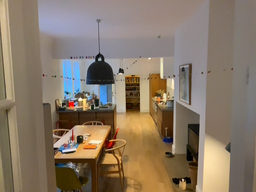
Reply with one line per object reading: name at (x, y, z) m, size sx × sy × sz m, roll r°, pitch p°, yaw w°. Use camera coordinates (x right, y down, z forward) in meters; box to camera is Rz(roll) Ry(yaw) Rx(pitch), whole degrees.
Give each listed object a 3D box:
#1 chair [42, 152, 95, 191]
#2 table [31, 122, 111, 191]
chair at (-0.800, 1.270, 2.960) m, size 0.470 × 0.760 × 0.530 m, roll 1°, pitch 7°, yaw 15°
table at (-0.920, 1.130, 4.180) m, size 0.890 × 0.740 × 2.120 m, roll -1°, pitch 7°, yaw 3°
